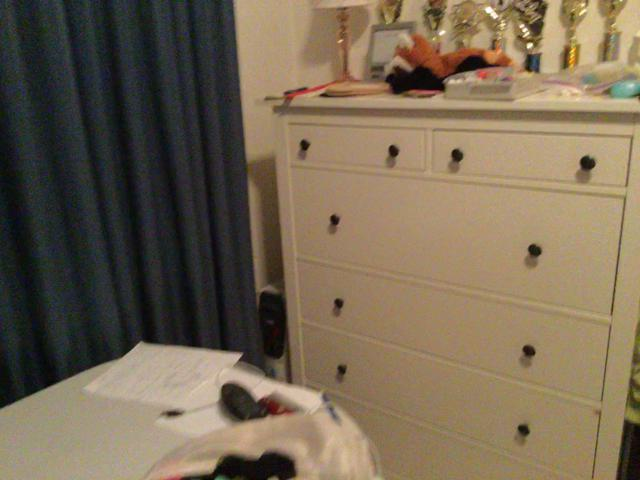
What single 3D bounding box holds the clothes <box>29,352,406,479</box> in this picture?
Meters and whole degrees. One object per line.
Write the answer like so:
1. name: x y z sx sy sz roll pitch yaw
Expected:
1. clothes: -0.130 0.370 0.850 0.330 0.160 0.440 12 22 37
